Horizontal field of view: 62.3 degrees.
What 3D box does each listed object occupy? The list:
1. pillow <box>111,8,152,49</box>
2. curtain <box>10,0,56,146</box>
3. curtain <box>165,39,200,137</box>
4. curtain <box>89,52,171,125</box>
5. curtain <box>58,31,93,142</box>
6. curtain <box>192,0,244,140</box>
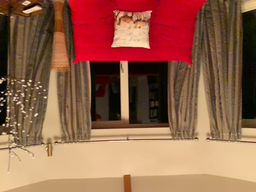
[{"bbox_3d":[0.030,-0.820,2.580,0.450,0.440,0.240,-2,-152,-5],"label":"pillow"},{"bbox_3d":[-1.230,-0.390,2.750,0.480,1.950,0.260,1,176,-40],"label":"curtain"},{"bbox_3d":[0.760,-0.110,3.000,0.370,1.330,0.220,-2,177,-1],"label":"curtain"},{"bbox_3d":[0.030,-0.120,3.350,1.240,1.100,0.130,-2,177,-2],"label":"curtain"},{"bbox_3d":[-0.720,-0.130,2.930,0.420,1.470,0.250,-1,177,-5],"label":"curtain"},{"bbox_3d":[1.180,-0.400,2.810,0.520,1.880,0.230,-3,176,30],"label":"curtain"}]
